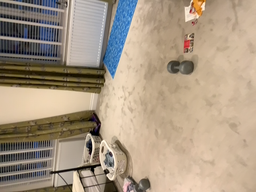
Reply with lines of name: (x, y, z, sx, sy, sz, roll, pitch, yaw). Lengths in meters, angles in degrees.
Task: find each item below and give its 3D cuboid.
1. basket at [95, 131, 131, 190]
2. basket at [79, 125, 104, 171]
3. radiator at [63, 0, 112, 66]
basket: (-0.260, 0.960, 3.250, 0.680, 0.240, 0.550, 38, 122, 56)
basket: (-0.730, 1.000, 4.140, 0.530, 0.240, 0.680, 49, 133, 51)
radiator: (-0.700, -1.100, 3.580, 0.090, 0.670, 1.170, 45, 128, 53)
